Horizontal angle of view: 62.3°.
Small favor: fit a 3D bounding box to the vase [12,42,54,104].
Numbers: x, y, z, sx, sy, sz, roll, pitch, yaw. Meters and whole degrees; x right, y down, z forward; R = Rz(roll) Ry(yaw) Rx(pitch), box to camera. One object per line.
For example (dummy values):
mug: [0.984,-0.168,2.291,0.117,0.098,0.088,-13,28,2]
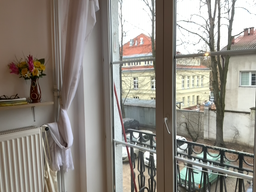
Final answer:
vase: [-0.750,-0.180,1.690,0.120,0.450,0.260,4,7,39]
